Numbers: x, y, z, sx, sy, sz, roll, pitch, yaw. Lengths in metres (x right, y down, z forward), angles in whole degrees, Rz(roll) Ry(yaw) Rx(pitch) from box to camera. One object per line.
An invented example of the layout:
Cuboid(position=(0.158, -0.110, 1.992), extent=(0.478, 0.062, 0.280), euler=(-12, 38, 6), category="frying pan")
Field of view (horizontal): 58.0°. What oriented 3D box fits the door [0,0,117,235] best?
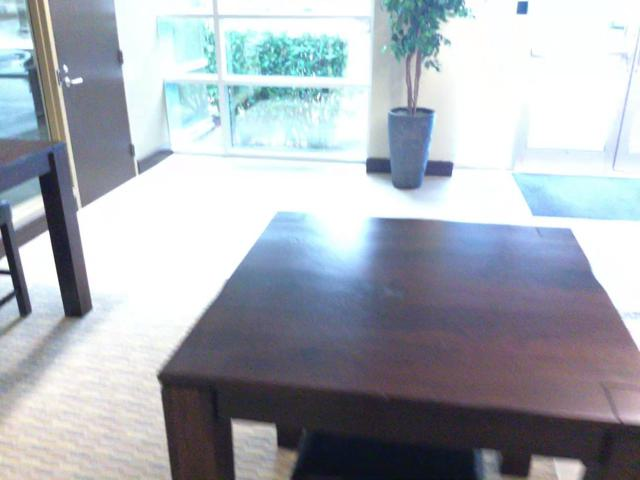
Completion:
Cuboid(position=(-1.820, -1.160, 3.600), extent=(0.330, 2.010, 1.010), euler=(3, 23, 10), category="door")
